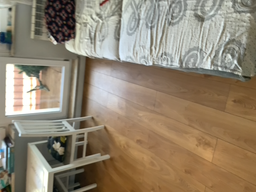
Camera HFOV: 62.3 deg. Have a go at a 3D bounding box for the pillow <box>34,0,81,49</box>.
[{"bbox_3d":[-0.770,-0.830,2.280,0.380,0.330,0.560,24,110,47],"label":"pillow"}]
